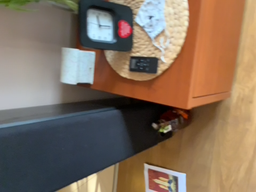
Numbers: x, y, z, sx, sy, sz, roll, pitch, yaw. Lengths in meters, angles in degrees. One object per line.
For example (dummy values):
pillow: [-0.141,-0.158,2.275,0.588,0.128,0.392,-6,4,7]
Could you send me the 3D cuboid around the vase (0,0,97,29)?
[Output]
vase: [-0.330,-0.380,0.770,0.190,0.410,0.190,16,104,37]
